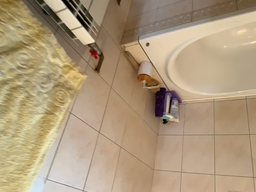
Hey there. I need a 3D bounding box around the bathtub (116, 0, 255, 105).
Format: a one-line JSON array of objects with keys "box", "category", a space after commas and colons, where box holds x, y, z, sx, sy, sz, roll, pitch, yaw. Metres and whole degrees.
[{"box": [0.810, -0.400, 1.180, 1.560, 0.500, 0.680, -7, 146, 30], "category": "bathtub"}]
